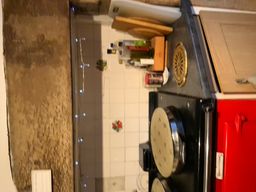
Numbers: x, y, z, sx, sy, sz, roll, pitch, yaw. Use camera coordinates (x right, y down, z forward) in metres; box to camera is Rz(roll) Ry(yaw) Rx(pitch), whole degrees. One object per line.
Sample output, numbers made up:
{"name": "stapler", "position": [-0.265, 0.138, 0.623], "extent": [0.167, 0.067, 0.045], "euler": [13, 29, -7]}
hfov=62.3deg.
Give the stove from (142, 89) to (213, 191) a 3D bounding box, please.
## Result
{"name": "stove", "position": [0.230, 0.490, 1.240], "extent": [0.710, 0.120, 1.020], "euler": [-152, 61, -79]}
